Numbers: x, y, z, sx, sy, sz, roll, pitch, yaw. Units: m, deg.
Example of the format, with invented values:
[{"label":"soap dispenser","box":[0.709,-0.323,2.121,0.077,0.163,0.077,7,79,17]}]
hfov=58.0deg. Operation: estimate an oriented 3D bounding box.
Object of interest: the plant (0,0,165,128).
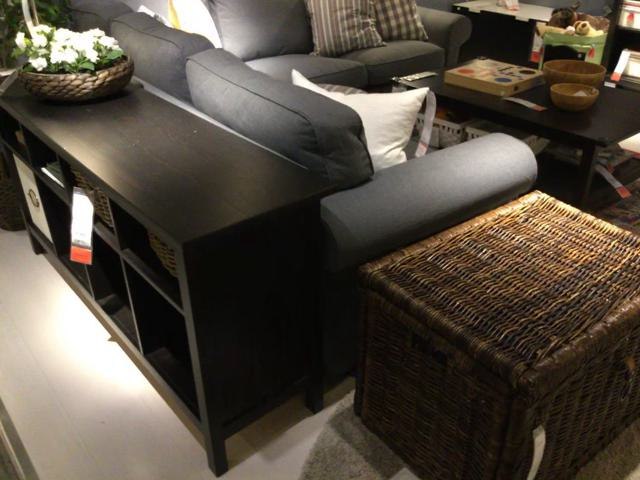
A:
[{"label":"plant","box":[-0.800,-0.610,1.920,0.390,0.280,0.500,-19,31,-22]}]
